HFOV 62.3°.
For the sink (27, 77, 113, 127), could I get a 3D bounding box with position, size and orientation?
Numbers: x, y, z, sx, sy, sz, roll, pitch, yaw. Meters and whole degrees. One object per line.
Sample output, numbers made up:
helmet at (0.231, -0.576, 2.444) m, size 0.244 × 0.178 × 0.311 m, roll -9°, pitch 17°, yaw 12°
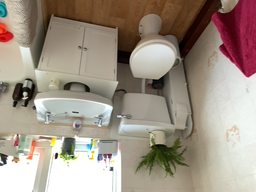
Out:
sink at (-0.440, 0.070, 1.690) m, size 0.580 × 0.200 × 0.360 m, roll 6°, pitch 149°, yaw -12°
